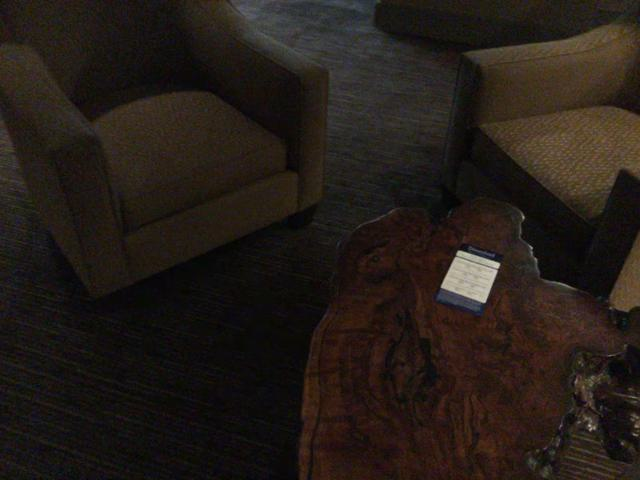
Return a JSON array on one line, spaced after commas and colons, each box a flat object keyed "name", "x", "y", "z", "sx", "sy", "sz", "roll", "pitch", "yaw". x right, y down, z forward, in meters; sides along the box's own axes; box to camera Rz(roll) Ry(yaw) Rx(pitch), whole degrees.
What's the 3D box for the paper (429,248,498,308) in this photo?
[{"name": "paper", "x": 0.320, "y": 0.080, "z": 1.280, "sx": 0.110, "sy": 0.010, "sz": 0.150, "roll": 20, "pitch": 42, "yaw": 20}]
